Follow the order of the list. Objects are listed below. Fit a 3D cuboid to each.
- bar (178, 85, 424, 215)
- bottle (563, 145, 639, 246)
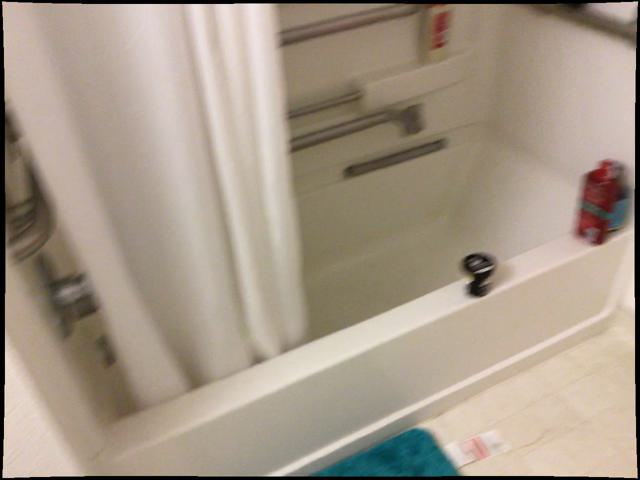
[{"bbox_3d":[-0.040,-0.290,1.780,0.739,0.160,0.150,-19,40,-17],"label":"bar"},{"bbox_3d":[0.769,-0.120,1.560,0.130,0.220,0.110,-19,40,-17],"label":"bottle"}]
